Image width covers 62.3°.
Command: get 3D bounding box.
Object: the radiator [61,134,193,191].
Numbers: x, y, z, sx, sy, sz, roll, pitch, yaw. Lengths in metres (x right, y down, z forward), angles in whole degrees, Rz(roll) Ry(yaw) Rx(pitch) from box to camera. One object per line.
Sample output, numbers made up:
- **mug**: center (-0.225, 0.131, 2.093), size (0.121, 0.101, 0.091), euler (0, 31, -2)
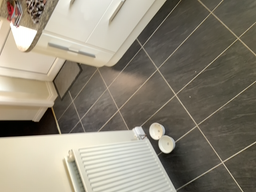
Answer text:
- **radiator**: center (0.040, 0.550, 1.390), size (0.180, 0.800, 0.530), euler (-48, 57, 29)
